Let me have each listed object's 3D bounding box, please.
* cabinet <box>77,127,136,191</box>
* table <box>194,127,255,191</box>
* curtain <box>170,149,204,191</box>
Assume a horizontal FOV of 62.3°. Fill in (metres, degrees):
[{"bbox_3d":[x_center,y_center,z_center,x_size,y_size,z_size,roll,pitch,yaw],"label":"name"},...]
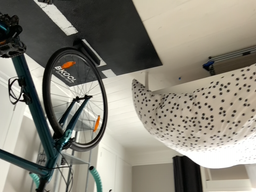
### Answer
[{"bbox_3d":[-0.270,2.170,3.090,0.260,3.030,1.650,-9,150,19],"label":"cabinet"},{"bbox_3d":[1.730,0.930,3.080,1.330,0.780,0.490,-14,148,27],"label":"table"},{"bbox_3d":[0.970,2.030,3.240,0.480,2.350,0.130,-14,148,26],"label":"curtain"}]
